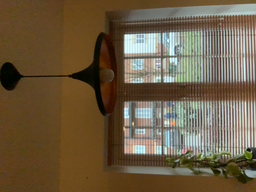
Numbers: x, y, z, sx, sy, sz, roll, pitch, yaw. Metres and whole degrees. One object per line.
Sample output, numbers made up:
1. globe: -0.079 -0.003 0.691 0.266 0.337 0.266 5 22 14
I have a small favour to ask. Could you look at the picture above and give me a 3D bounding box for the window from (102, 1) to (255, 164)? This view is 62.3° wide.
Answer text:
1. window: 0.420 -0.100 1.570 0.100 1.210 1.130 19 -109 -83
